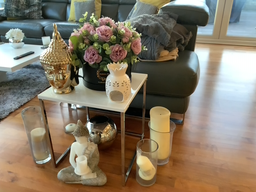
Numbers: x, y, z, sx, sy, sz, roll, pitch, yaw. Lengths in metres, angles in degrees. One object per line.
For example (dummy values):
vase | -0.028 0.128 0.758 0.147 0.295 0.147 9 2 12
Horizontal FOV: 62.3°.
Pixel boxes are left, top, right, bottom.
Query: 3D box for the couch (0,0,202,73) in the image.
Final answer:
couch | -0.560 -1.040 3.120 3.030 0.760 1.060 8 28 15

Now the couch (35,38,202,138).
couch | -0.030 -0.120 1.570 1.030 0.450 0.540 7 28 14
